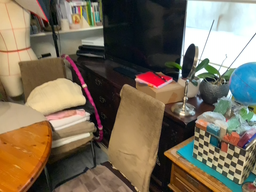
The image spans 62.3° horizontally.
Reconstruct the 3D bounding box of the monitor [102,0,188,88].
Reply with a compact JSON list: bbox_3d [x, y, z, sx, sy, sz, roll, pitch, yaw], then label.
[{"bbox_3d":[0.070,-0.480,1.770,0.030,0.580,0.920,-22,34,-35],"label":"monitor"}]
